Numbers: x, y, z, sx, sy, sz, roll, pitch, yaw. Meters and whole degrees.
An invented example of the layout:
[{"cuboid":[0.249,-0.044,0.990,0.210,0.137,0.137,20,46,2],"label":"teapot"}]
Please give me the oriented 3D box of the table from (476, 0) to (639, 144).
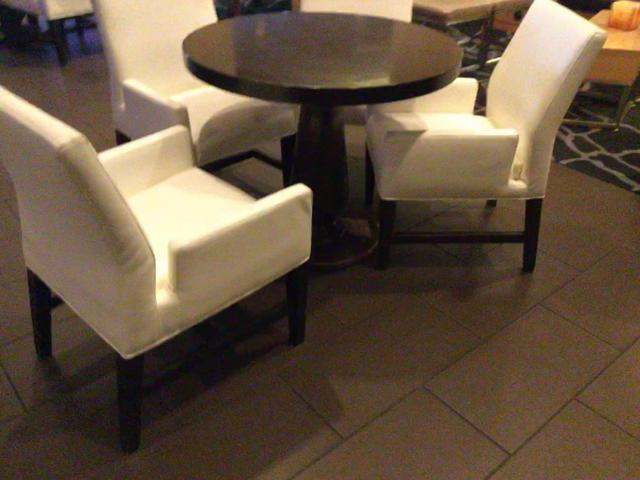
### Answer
[{"cuboid":[1.790,-1.170,3.550,1.510,0.480,0.830,-28,45,-34],"label":"table"}]
